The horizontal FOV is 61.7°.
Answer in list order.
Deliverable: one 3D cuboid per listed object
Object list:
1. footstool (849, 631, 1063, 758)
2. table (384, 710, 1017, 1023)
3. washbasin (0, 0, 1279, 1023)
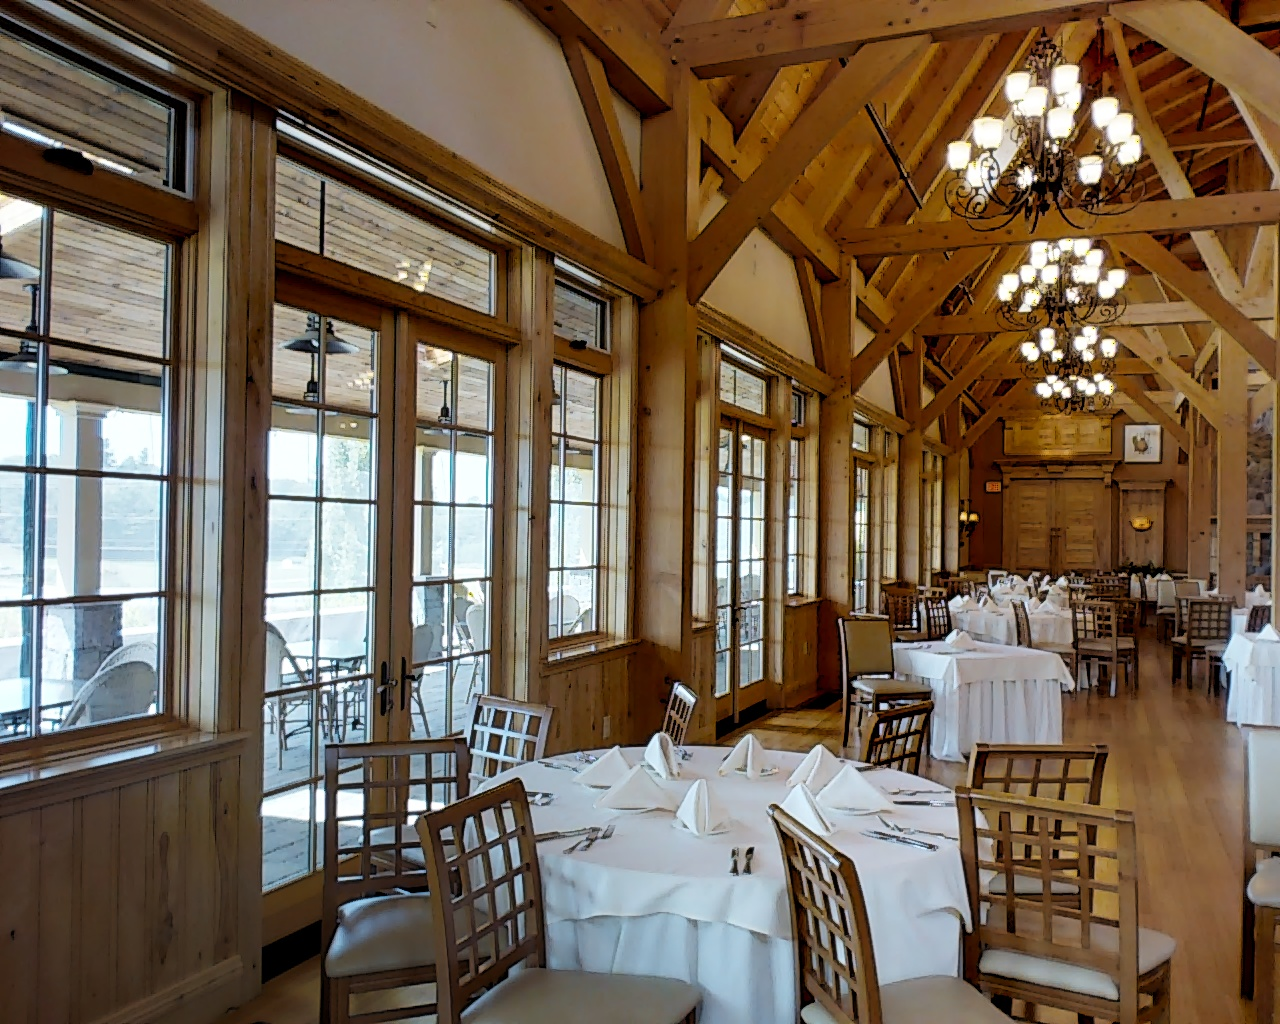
[{"bbox_3d":[2.330,1.320,8.000,1.060,0.720,1.120,1,0,-23],"label":"footstool"},{"bbox_3d":[0.320,1.170,3.280,1.490,0.760,1.600,0,0,22],"label":"table"},{"bbox_3d":[7.691,-0.960,7.830,16.302,5.089,31.940,0,0,18],"label":"washbasin"}]
